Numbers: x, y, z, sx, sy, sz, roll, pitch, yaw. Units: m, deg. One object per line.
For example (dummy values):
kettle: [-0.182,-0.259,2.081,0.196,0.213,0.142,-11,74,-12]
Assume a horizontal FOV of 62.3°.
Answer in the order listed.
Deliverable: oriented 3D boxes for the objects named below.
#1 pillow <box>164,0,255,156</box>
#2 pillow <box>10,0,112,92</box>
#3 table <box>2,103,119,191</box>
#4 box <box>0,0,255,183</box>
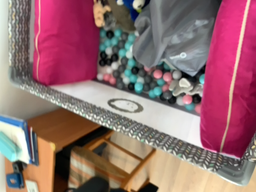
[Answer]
pillow: [0.370,-0.120,0.870,0.240,0.410,0.550,21,134,23]
pillow: [-0.360,-0.400,1.310,0.300,0.460,0.530,21,133,22]
table: [-0.510,0.480,1.720,0.490,0.730,0.570,20,111,23]
box: [0.080,-0.310,1.290,1.450,0.830,0.660,20,111,24]
